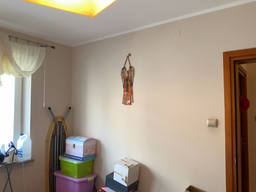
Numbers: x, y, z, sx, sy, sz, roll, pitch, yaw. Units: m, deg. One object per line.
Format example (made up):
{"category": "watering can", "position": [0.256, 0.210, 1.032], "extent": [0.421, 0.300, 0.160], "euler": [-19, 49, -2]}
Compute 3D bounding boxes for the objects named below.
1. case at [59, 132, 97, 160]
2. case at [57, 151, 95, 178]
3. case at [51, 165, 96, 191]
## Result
{"category": "case", "position": [-0.710, 0.700, 3.020], "extent": [0.450, 0.290, 0.310], "euler": [-1, -3, 37]}
{"category": "case", "position": [-0.730, 0.940, 2.960], "extent": [0.460, 0.220, 0.290], "euler": [-2, -3, 38]}
{"category": "case", "position": [-0.760, 1.200, 2.940], "extent": [0.510, 0.320, 0.360], "euler": [-1, -3, 37]}
